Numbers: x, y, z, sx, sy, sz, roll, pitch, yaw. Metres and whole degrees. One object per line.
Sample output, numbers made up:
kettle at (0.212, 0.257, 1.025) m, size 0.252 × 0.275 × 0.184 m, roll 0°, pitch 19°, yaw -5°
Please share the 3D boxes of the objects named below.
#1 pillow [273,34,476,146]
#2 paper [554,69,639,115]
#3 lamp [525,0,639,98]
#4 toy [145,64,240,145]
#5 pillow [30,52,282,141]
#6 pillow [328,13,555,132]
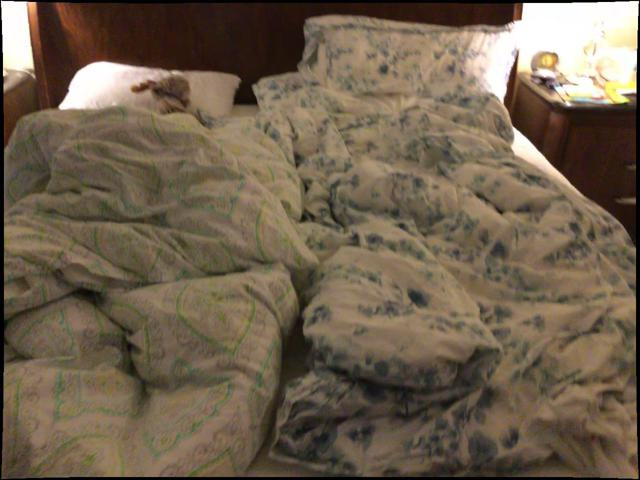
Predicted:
pillow at (0.180, -0.591, 2.230) m, size 0.698 × 0.301 × 0.410 m, roll -1°, pitch 33°, yaw -3°
paper at (1.147, -0.601, 2.330) m, size 0.319 × 0.060 × 0.350 m, roll 6°, pitch 33°, yaw 8°
lamp at (1.227, -0.992, 2.330) m, size 0.519 × 0.711 × 0.420 m, roll -1°, pitch 33°, yaw -3°
toy at (-0.439, -0.491, 2.060) m, size 0.269 × 0.180 × 0.330 m, roll -1°, pitch 33°, yaw -3°
pillow at (-0.579, -0.571, 2.240) m, size 0.848 × 0.180 × 0.480 m, roll -1°, pitch 33°, yaw -3°
pillow at (0.429, -0.662, 2.250) m, size 0.768 × 0.351 × 0.370 m, roll -1°, pitch 33°, yaw -3°
